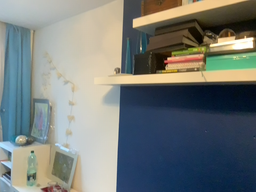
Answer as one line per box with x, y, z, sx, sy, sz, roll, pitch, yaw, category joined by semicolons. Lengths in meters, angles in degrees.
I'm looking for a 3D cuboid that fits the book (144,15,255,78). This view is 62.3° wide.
0.460;-0.230;1.140;0.690;0.230;0.290;3;0;39;book

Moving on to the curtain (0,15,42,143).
-1.340;-0.190;2.630;0.220;1.450;0.390;3;0;43;curtain
